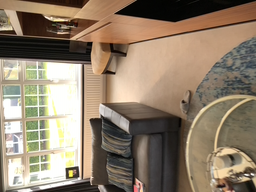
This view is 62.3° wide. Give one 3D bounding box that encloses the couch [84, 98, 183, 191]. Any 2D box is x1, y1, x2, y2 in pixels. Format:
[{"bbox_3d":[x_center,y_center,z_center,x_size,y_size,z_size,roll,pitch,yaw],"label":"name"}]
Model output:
[{"bbox_3d":[-0.030,0.760,2.690,1.160,0.780,1.330,-167,77,-64],"label":"couch"}]
